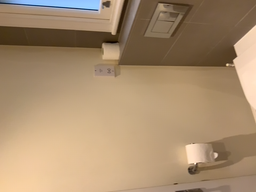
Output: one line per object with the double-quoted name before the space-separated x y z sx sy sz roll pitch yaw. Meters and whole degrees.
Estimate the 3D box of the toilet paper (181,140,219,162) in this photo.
"toilet paper" 0.440 0.340 1.310 0.110 0.170 0.110 121 145 -64
